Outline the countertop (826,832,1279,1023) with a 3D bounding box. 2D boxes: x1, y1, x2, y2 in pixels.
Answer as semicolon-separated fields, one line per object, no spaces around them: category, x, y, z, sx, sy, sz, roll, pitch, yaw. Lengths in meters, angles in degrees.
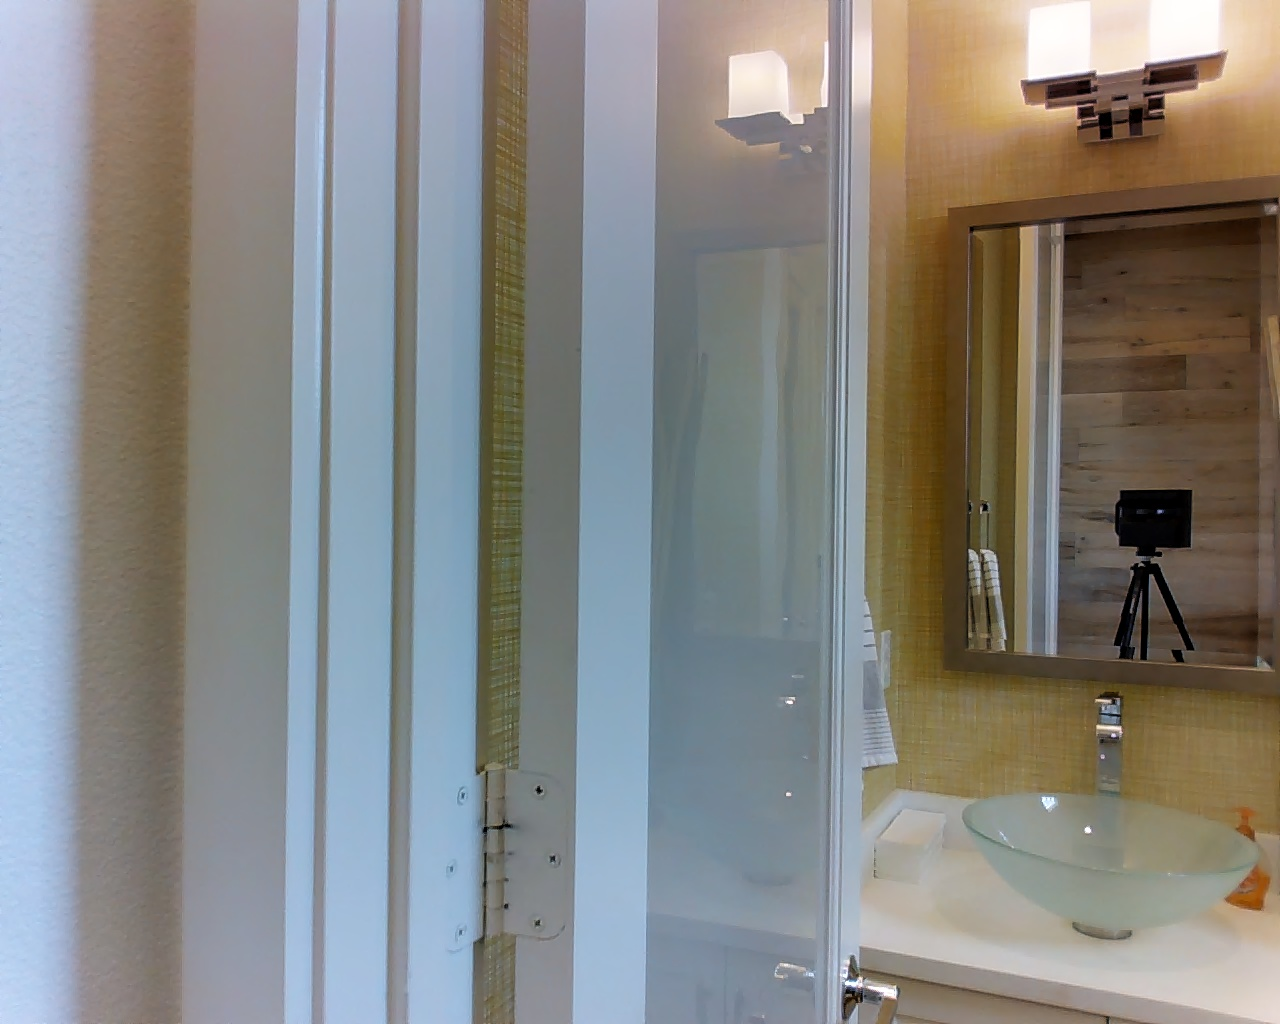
countertop;0.840;0.690;1.740;0.930;0.030;0.600;2;1;26
